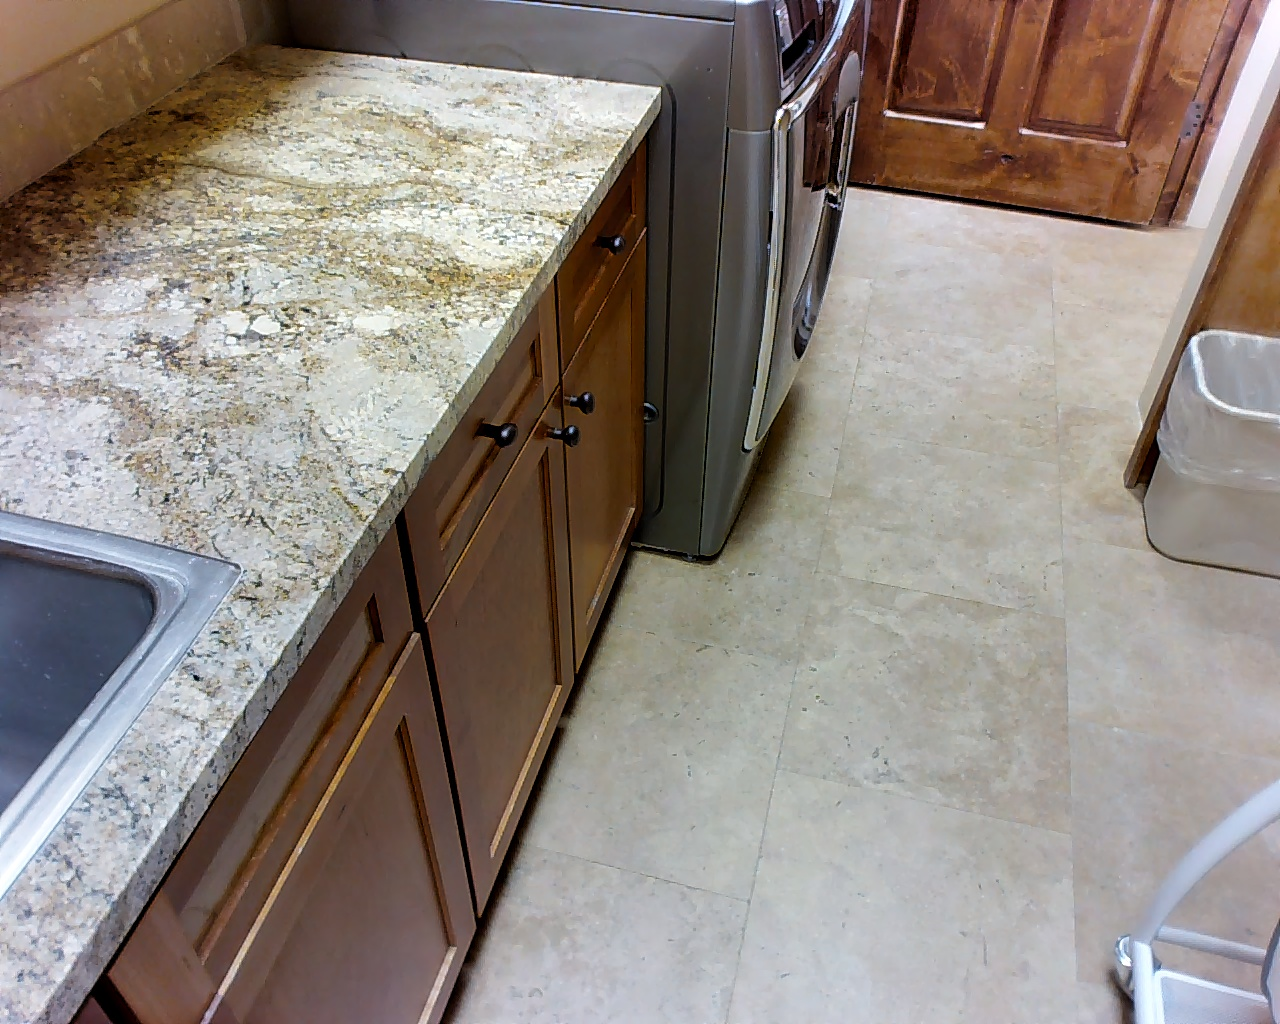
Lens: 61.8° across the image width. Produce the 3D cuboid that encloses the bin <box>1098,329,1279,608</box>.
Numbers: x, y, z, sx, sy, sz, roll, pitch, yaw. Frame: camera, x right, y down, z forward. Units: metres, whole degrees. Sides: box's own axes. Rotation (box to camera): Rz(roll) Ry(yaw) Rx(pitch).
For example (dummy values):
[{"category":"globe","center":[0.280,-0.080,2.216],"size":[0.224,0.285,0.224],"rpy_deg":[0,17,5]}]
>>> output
[{"category":"bin","center":[1.130,-0.070,1.970],"size":[0.420,0.390,0.270],"rpy_deg":[10,43,10]}]
